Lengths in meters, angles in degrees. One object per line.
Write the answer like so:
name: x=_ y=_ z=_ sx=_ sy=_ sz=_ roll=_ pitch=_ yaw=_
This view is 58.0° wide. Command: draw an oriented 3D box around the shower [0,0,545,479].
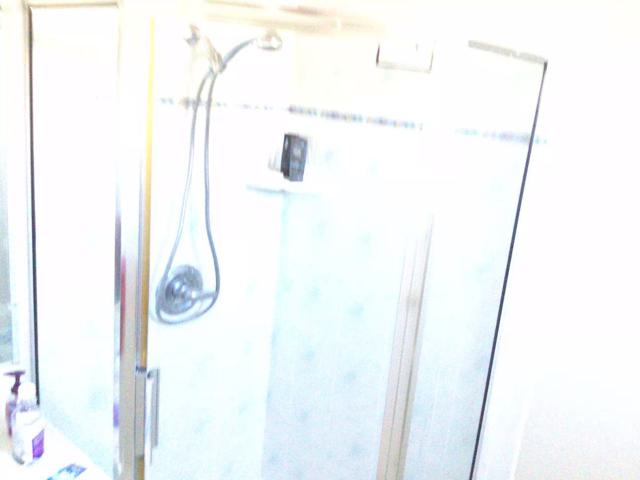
shower: x=-0.190 y=0.310 z=1.690 sx=1.080 sy=1.950 sz=0.790 roll=5 pitch=10 yaw=-4
